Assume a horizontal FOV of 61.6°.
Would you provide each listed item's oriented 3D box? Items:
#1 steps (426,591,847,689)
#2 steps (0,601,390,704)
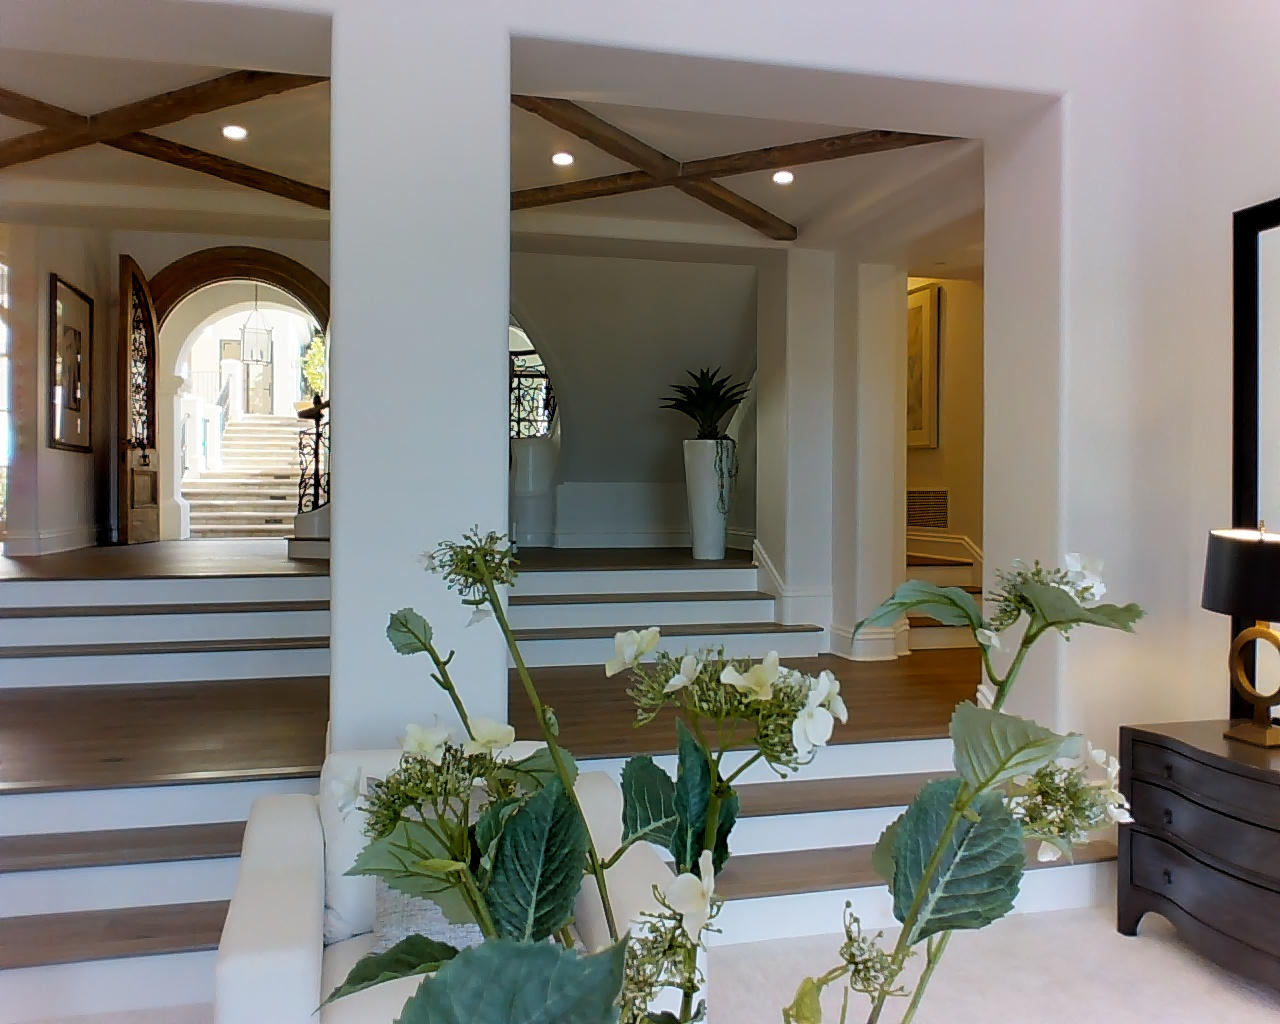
[{"bbox_3d":[-0.010,0.800,6.940,2.659,0.460,0.590,0,1,-15],"label":"steps"},{"bbox_3d":[-2.819,0.800,6.210,2.659,0.440,0.580,0,1,-15],"label":"steps"}]
